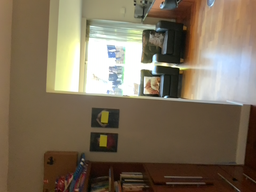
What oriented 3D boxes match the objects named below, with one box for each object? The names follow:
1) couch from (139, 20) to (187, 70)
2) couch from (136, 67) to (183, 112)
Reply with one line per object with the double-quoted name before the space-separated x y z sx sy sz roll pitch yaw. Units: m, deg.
"couch" 0.790 -1.160 5.070 0.870 0.850 0.930 -164 78 -84
"couch" 0.710 -0.150 5.110 0.970 0.850 0.900 -164 78 -84
